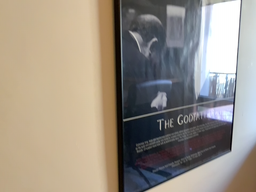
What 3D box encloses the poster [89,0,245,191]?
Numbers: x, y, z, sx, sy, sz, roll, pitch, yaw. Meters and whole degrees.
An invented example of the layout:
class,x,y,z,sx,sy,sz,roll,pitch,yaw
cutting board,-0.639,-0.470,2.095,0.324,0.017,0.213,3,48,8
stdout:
class,x,y,z,sx,sy,sz,roll,pitch,yaw
poster,0.200,-0.140,0.740,0.700,0.930,0.050,-9,13,-36
